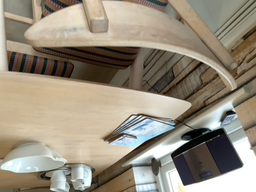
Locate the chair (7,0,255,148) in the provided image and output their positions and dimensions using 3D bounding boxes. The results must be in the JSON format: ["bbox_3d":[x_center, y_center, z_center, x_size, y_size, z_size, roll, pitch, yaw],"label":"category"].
[{"bbox_3d":[-0.080,-0.310,0.810,0.550,0.860,0.530,8,145,-29],"label":"chair"}]

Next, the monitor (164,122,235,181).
[{"bbox_3d":[0.330,0.300,1.080,0.030,0.240,0.390,8,155,-28],"label":"monitor"}]
